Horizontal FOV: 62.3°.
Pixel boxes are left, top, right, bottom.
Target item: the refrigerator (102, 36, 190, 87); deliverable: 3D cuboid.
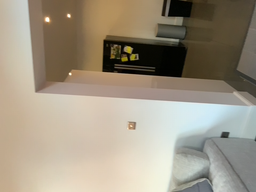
[{"bbox_3d":[0.350,-0.830,4.990,0.900,1.820,0.910,-103,17,-71],"label":"refrigerator"}]
